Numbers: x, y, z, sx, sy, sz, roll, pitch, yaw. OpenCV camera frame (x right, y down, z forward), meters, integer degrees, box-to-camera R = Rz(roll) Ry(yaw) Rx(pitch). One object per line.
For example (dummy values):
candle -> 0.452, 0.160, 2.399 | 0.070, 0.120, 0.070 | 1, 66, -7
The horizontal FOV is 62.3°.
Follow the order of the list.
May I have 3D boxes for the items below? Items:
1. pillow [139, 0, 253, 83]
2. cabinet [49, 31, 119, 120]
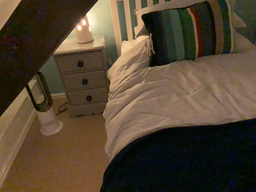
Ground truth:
pillow -> 0.390, -0.400, 1.310 | 0.540, 0.360, 0.180 | -40, 26, 23
cabinet -> -0.350, -0.190, 1.960 | 0.440, 0.650, 0.430 | -6, 34, 3
